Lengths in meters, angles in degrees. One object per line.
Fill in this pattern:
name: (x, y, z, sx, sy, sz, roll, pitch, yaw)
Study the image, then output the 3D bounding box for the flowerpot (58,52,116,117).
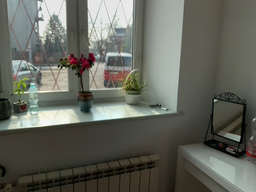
flowerpot: (-0.360, -0.120, 1.850, 0.430, 0.510, 0.270, -4, 12, -24)

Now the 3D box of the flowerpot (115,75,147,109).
flowerpot: (0.020, -0.050, 2.080, 0.260, 0.300, 0.230, -2, 11, -15)
